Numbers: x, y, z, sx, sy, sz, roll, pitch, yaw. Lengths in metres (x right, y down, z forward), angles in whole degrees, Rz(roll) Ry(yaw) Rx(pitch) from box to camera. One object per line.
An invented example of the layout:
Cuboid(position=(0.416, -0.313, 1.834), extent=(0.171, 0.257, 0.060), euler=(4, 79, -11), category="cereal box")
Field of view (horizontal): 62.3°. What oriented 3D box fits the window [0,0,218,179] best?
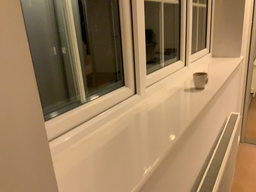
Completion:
Cuboid(position=(0.160, -0.400, 1.030), extent=(0.170, 0.690, 1.620), euler=(8, 22, 33), category="window")
